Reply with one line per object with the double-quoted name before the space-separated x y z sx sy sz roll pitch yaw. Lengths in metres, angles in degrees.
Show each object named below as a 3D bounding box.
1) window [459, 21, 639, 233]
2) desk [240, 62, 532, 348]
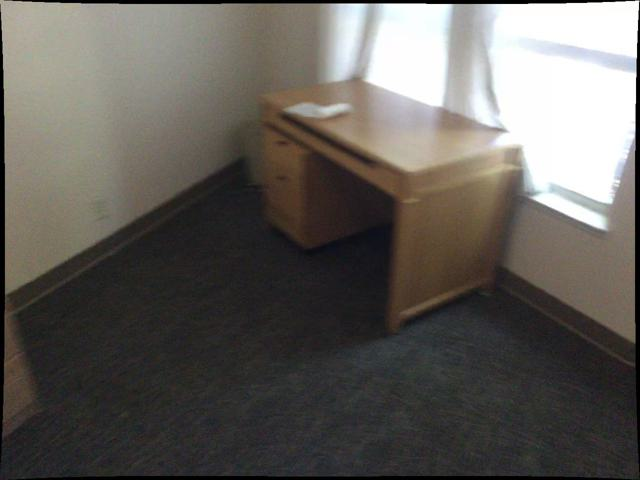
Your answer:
"window" 0.918 -0.471 2.310 0.260 0.641 0.610 -20 38 -30
"desk" 0.220 -0.260 2.780 0.659 0.801 1.240 -19 37 -28
